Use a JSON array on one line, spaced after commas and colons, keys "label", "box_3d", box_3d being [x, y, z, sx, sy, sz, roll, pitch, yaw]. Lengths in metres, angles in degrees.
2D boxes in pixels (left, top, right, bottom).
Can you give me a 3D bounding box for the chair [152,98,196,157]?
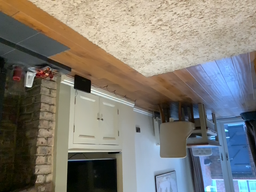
[{"label": "chair", "box_3d": [0.850, 0.610, 3.910, 0.540, 0.950, 0.640, -11, 163, 28]}]
